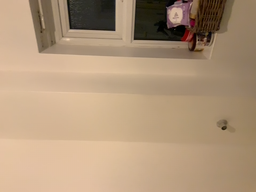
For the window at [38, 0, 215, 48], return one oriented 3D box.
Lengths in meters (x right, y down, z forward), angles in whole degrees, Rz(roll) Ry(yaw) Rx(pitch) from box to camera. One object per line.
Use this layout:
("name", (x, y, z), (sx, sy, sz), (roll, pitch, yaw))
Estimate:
("window", (-0.010, -0.580, 1.220), (0.050, 1.010, 0.570), (-90, 2, -57))
